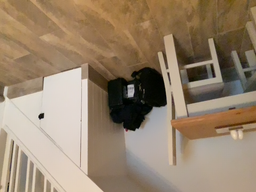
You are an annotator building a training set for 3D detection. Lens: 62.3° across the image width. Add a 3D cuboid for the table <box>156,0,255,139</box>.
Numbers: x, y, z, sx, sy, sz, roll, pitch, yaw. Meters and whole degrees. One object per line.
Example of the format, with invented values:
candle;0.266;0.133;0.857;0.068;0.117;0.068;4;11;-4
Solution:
table;0.790;-0.130;1.760;0.820;0.760;0.810;-13;158;21
